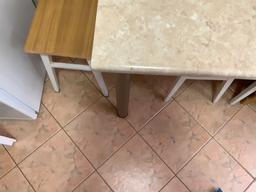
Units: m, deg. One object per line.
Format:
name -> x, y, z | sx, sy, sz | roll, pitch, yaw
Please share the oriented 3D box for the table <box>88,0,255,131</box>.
table -> 0.430, -0.220, 0.960 | 1.030, 0.740, 0.600 | 3, 72, 0
